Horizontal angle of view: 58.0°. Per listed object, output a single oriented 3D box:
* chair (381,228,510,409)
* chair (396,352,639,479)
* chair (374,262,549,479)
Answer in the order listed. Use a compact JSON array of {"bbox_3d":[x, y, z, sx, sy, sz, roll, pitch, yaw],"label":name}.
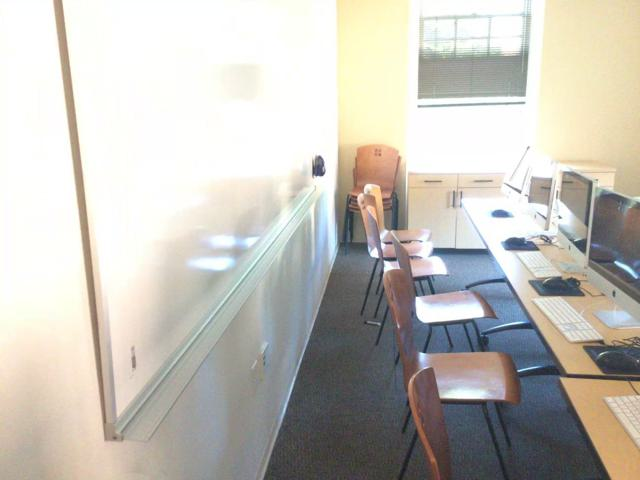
[{"bbox_3d":[0.590,0.360,2.870,0.560,0.750,0.510,0,13,7],"label":"chair"},{"bbox_3d":[0.490,0.750,1.390,0.600,0.800,0.500,0,13,7],"label":"chair"},{"bbox_3d":[0.500,0.540,2.220,0.560,0.810,0.500,0,13,7],"label":"chair"}]
